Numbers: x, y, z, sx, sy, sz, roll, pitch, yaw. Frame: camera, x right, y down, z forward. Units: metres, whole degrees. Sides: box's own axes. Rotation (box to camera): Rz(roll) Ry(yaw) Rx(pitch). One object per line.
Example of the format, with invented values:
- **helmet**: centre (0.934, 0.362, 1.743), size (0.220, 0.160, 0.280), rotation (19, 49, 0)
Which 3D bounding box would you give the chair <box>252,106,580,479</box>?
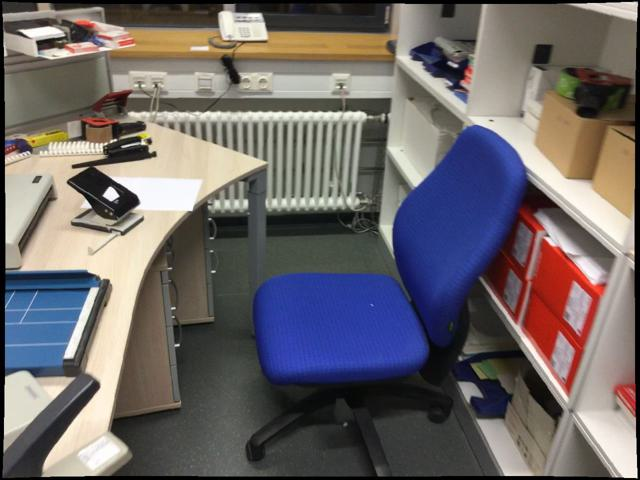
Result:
- **chair**: centre (0.170, 0.140, 1.670), size (0.669, 0.911, 0.520), rotation (-3, 31, -12)
